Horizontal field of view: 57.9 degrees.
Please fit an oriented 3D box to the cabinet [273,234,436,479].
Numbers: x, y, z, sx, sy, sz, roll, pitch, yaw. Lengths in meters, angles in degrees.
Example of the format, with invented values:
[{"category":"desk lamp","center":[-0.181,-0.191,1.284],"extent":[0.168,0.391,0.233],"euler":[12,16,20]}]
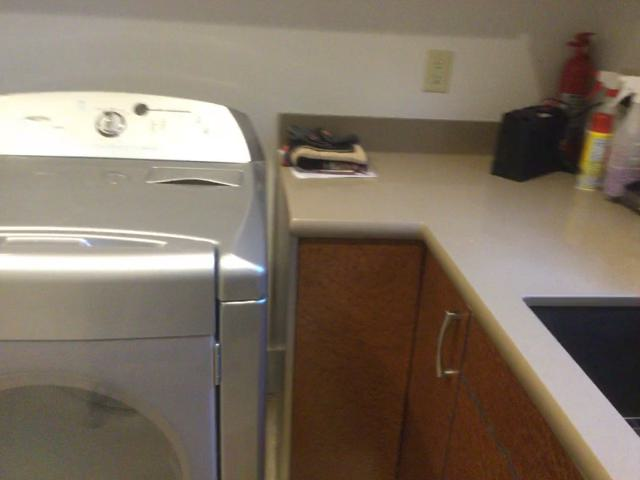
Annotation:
[{"category":"cabinet","center":[0.060,0.340,1.380],"extent":[0.320,0.740,0.060],"euler":[0,23,-9]}]
